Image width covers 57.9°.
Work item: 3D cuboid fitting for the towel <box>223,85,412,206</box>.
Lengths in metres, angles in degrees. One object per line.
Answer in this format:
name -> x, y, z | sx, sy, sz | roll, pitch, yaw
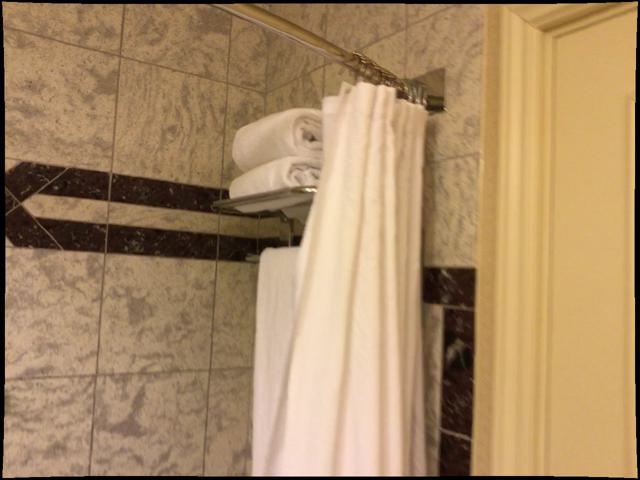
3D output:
towel -> -0.020, -0.180, 1.240 | 0.230, 0.180, 0.370 | 5, -1, -33
